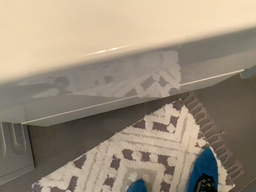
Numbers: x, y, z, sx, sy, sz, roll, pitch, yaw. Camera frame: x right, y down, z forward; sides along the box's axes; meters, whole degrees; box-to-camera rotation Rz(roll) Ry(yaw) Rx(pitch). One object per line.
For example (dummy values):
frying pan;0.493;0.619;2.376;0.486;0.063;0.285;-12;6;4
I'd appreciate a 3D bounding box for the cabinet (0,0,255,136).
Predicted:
cabinet;0.000;-0.190;0.700;0.800;0.540;0.430;-15;82;-8
